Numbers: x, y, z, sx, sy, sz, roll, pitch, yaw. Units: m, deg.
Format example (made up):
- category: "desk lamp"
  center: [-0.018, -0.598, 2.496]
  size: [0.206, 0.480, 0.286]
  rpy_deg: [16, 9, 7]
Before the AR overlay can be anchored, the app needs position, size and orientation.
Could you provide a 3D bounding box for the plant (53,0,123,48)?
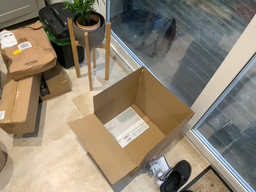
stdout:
- category: "plant"
  center: [-0.220, -0.550, 1.130]
  size: [0.270, 0.430, 0.280]
  rpy_deg: [-34, 67, -25]
